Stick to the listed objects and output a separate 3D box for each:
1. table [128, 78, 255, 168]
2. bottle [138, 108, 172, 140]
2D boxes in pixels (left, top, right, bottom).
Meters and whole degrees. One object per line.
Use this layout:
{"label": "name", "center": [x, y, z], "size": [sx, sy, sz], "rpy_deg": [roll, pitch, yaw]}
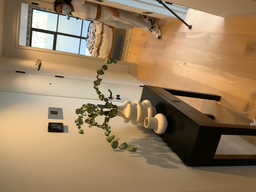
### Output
{"label": "table", "center": [0.560, 0.150, 1.740], "size": [1.030, 0.800, 0.270], "rpy_deg": [-136, 54, -64]}
{"label": "bottle", "center": [0.180, 0.190, 1.450], "size": [0.170, 0.140, 0.150], "rpy_deg": [-135, 53, -64]}
